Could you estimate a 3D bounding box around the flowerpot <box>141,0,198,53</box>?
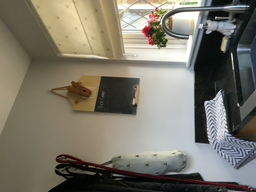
[{"bbox_3d":[0.270,-0.480,1.430,0.320,0.330,0.220,75,-160,-65],"label":"flowerpot"}]
